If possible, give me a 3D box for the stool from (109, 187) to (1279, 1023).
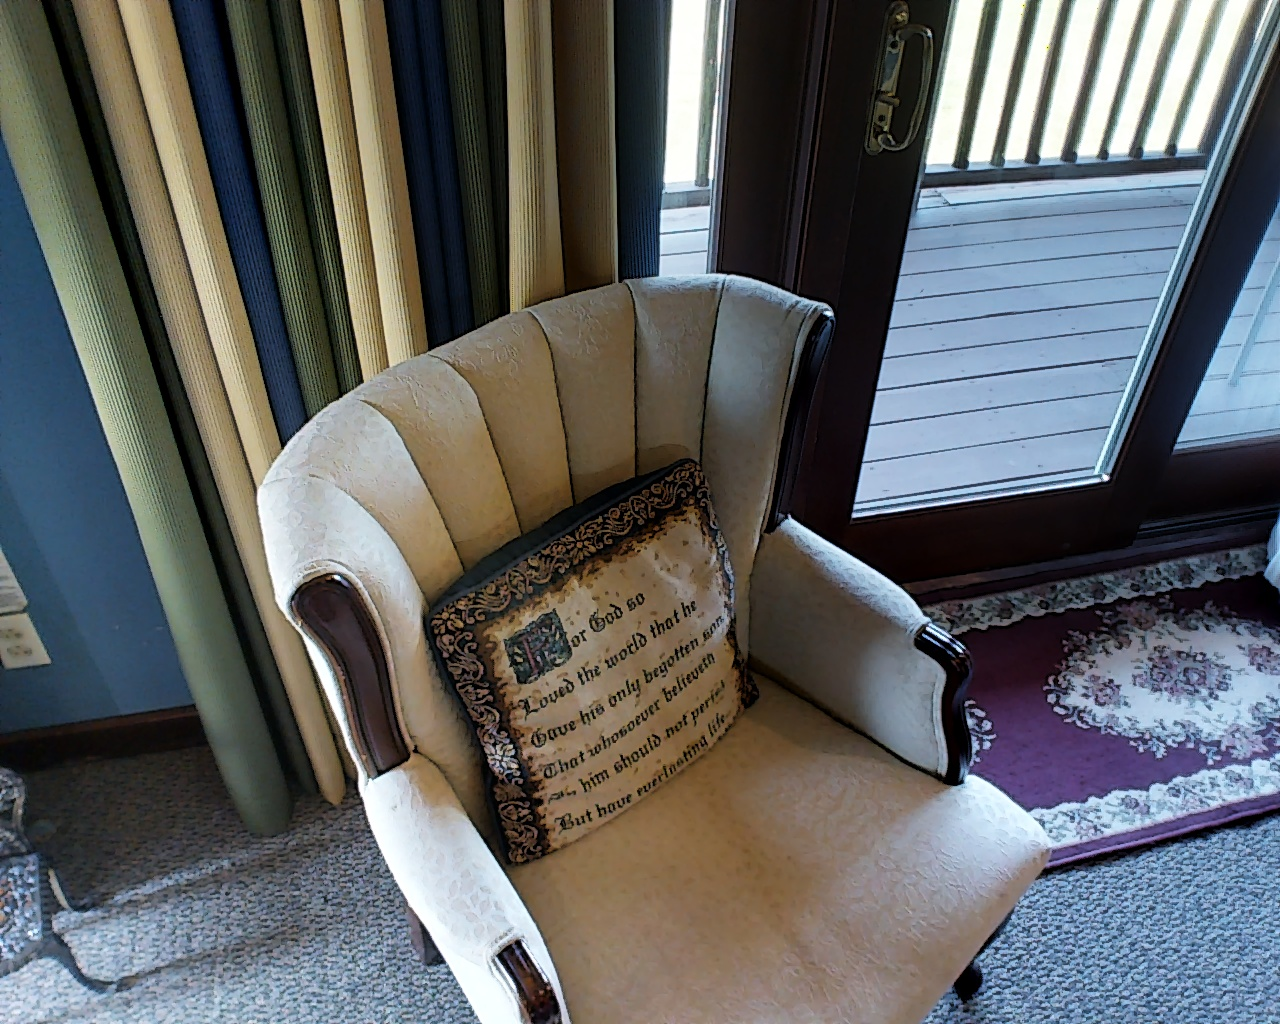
[{"bbox_3d":[0.040,0.310,1.280,0.750,0.980,0.760,-30,50,-30],"label":"stool"}]
